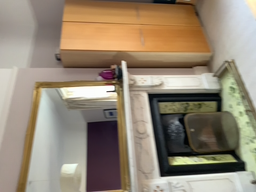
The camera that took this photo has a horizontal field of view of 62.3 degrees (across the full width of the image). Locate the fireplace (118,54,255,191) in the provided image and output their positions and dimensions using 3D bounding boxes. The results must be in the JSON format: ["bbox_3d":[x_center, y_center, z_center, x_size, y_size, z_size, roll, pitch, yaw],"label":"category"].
[{"bbox_3d":[0.570,0.350,2.410,0.480,1.250,1.730,101,166,-58],"label":"fireplace"}]
